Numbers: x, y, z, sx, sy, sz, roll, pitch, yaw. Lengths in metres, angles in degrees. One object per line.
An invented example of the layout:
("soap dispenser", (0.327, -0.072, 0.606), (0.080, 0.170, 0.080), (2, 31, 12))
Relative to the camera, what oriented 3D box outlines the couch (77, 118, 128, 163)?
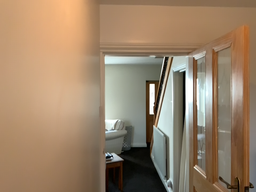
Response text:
("couch", (-0.570, 1.030, 5.160), (1.080, 0.850, 1.000), (1, 2, 2))
